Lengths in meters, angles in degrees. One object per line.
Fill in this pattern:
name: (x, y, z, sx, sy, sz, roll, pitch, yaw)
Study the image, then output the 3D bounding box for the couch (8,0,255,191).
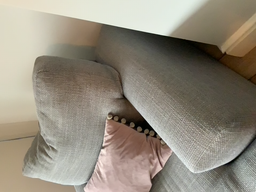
couch: (0.050, 0.320, 1.010, 1.120, 0.870, 1.060, 49, 128, 38)
